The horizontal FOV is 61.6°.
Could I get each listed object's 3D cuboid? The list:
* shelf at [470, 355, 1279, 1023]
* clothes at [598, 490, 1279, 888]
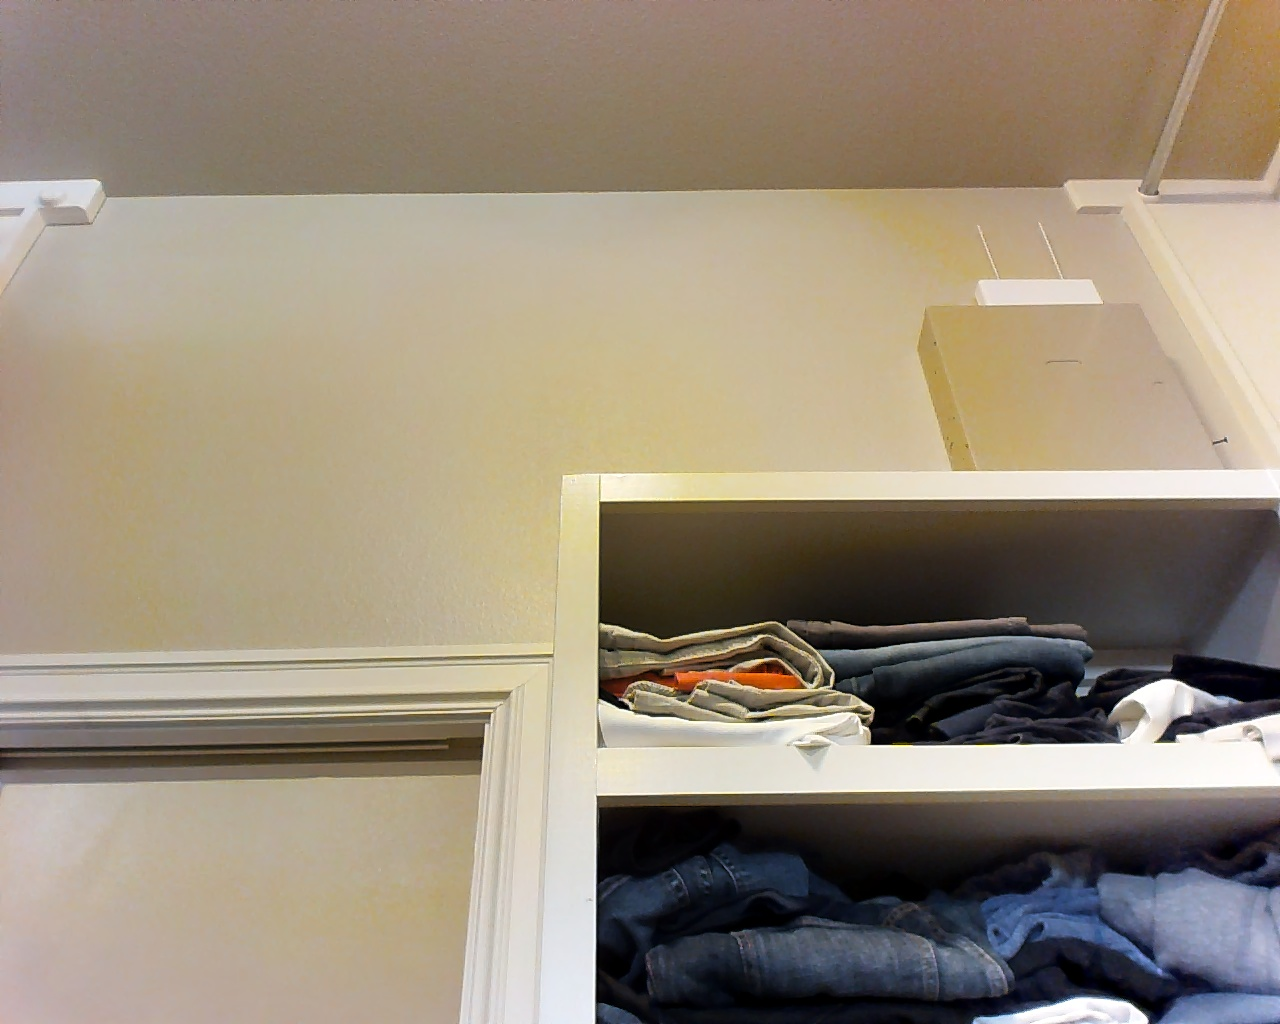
[{"bbox_3d":[0.360,0.330,0.910,0.940,1.020,0.340,-1,-42,0],"label":"shelf"},{"bbox_3d":[0.300,0.180,1.070,0.670,0.260,0.300,-1,-42,0],"label":"clothes"}]
